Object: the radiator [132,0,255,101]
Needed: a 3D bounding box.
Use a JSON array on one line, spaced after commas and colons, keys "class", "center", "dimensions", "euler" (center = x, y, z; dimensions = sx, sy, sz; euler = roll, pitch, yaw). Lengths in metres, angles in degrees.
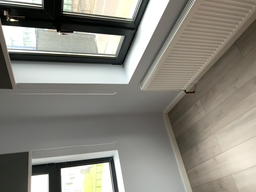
[{"class": "radiator", "center": [0.560, -0.400, 1.610], "dimensions": [1.540, 0.610, 0.100], "euler": [119, 145, -53]}]
